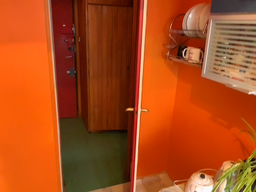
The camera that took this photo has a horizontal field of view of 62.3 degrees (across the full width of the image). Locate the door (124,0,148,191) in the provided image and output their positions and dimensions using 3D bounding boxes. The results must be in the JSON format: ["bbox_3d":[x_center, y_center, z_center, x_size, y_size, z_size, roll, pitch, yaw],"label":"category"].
[{"bbox_3d":[0.060,0.110,1.640,0.060,1.890,0.810,4,18,4],"label":"door"}]

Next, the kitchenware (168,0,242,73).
[{"bbox_3d":[0.540,-0.460,1.620,0.230,0.470,0.500,-2,19,-15],"label":"kitchenware"}]
